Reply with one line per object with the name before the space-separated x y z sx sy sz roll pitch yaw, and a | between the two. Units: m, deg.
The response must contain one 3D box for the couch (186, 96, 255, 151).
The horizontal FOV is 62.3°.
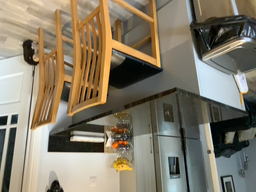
couch | 2.320 0.750 4.930 1.670 0.940 1.070 15 155 -42
